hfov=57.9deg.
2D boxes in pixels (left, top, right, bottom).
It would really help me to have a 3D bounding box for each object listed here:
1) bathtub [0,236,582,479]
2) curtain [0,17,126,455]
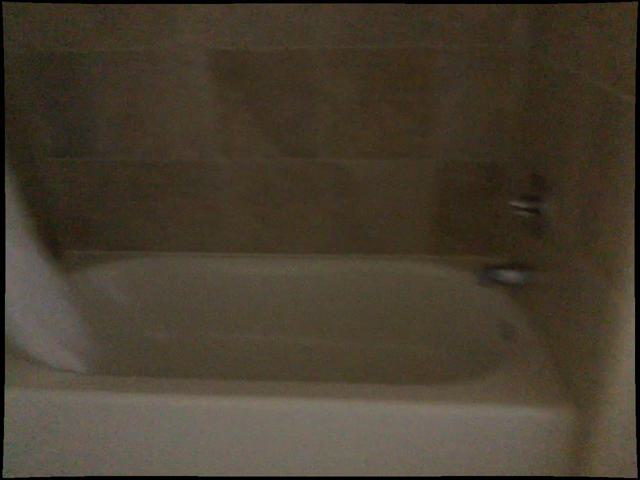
[{"bbox_3d":[-0.150,0.380,1.710,1.469,0.480,0.750,1,28,4],"label":"bathtub"},{"bbox_3d":[-0.759,0.030,1.310,0.380,0.971,0.260,1,28,4],"label":"curtain"}]
